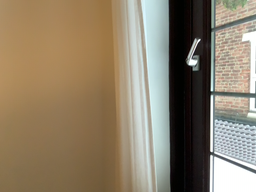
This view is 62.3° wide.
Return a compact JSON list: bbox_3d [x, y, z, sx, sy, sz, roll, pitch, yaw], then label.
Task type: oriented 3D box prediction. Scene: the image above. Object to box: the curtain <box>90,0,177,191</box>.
[{"bbox_3d":[-0.010,-0.370,0.910,0.190,2.460,0.450,-4,-174,-25],"label":"curtain"}]
